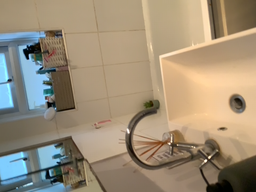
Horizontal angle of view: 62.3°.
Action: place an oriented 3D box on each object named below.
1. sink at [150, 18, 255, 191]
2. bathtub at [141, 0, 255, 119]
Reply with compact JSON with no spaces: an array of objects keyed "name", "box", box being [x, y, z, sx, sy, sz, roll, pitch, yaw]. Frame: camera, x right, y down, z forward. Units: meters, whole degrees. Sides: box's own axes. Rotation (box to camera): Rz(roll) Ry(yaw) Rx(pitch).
[{"name":"sink","box":[0.290,0.020,0.680,0.550,0.140,0.420,-173,75,-67]},{"name":"bathtub","box":[0.500,-0.740,1.450,0.730,0.540,1.630,-175,77,-67]}]
